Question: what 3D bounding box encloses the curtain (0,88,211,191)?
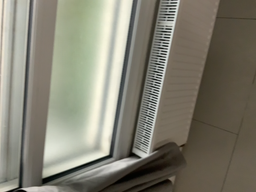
[{"bbox_3d":[-0.320,0.280,0.460,0.160,1.980,0.510,21,107,38],"label":"curtain"}]
